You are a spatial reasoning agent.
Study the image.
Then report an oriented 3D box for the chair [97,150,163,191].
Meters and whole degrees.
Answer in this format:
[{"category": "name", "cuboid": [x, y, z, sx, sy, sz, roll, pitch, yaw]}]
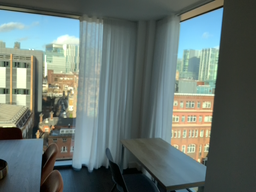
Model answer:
[{"category": "chair", "cuboid": [-0.020, 1.030, 2.130, 0.480, 0.790, 0.500, 1, 7, -21]}]
